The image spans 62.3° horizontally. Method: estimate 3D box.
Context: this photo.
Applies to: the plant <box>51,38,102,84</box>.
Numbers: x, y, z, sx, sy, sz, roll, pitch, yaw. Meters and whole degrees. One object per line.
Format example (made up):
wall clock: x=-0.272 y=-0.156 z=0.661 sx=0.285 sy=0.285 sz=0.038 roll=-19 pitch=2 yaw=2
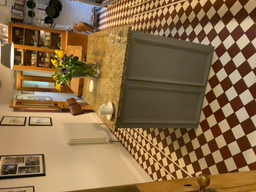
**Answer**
plant: x=-0.570 y=-0.380 z=2.300 sx=0.380 sy=0.440 sz=0.410 roll=-152 pitch=68 yaw=-63
